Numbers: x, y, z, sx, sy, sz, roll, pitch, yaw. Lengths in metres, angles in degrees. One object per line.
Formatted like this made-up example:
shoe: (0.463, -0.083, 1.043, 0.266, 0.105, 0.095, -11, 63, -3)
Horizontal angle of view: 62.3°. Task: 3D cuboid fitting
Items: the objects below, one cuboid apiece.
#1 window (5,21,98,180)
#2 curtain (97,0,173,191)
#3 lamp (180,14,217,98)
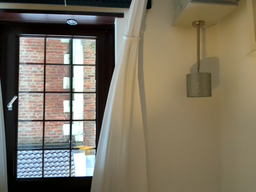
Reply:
window: (-0.670, 0.030, 1.920, 0.790, 1.390, 0.030, 0, 178, -7)
curtain: (0.040, -0.150, 1.650, 0.540, 2.470, 0.220, 0, 178, -6)
lamp: (0.560, -0.300, 1.710, 0.200, 0.630, 0.220, 0, 178, -5)
